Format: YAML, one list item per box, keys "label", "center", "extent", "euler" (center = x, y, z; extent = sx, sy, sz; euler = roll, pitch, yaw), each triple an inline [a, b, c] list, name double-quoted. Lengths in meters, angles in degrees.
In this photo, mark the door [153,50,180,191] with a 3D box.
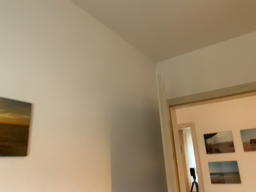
- label: "door"
  center: [0.320, 0.870, 1.290]
  extent: [0.040, 2.040, 1.000]
  euler: [-7, -16, 12]
